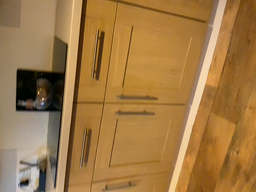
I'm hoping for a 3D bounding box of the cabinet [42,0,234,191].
[{"bbox_3d":[0.080,-0.620,1.290,0.570,0.920,3.450,38,122,58],"label":"cabinet"}]
